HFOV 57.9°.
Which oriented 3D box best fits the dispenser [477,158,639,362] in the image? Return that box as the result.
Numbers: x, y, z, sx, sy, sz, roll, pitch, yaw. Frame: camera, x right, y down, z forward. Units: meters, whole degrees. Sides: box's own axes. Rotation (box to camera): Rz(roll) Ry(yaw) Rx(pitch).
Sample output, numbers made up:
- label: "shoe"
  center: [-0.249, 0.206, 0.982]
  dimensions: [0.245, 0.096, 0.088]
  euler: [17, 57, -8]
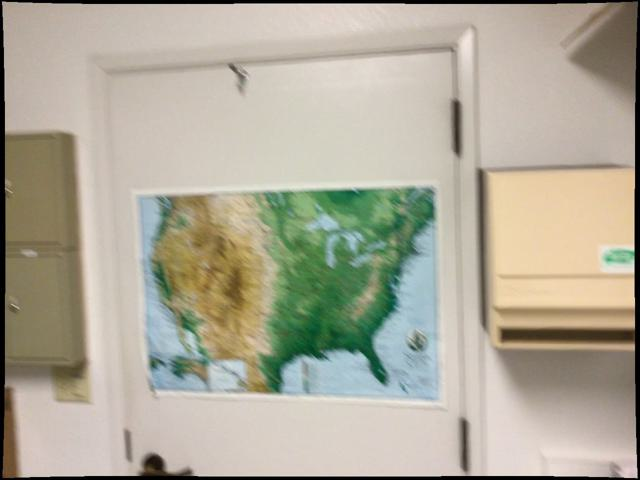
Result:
- label: "dispenser"
  center: [0.529, 0.030, 1.240]
  dimensions: [0.350, 0.390, 0.240]
  euler: [0, 5, 11]

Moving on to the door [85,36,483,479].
- label: "door"
  center: [-0.100, 0.551, 1.510]
  dimensions: [0.979, 2.032, 0.100]
  euler: [0, 5, 11]

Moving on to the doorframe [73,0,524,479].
- label: "doorframe"
  center: [-0.070, 0.501, 1.490]
  dimensions: [1.079, 2.072, 0.120]
  euler: [0, 5, 11]
